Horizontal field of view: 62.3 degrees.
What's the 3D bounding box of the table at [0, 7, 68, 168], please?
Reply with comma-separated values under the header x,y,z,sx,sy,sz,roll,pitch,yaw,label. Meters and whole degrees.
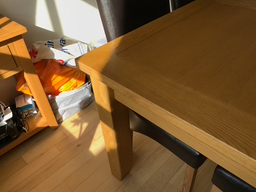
x,y,z,sx,sy,sz,roll,pitch,yaw,label
-0.900,0.030,1.230,0.400,0.760,0.830,30,51,34,table
